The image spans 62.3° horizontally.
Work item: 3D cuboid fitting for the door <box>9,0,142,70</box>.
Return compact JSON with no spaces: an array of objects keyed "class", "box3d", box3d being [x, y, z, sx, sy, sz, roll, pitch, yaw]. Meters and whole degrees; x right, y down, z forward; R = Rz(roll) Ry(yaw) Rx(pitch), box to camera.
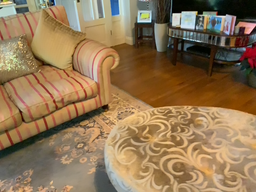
[{"class":"door","box3d":[-0.690,-1.730,3.200,2.110,2.210,0.170,-23,35,-30]}]
